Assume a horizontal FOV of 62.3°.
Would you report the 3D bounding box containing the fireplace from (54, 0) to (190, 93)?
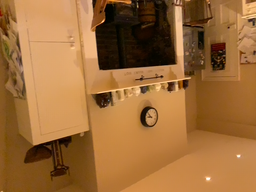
[{"bbox_3d":[-0.020,-1.190,3.940,2.160,1.950,1.200,-10,-170,-38],"label":"fireplace"}]
